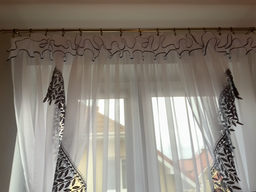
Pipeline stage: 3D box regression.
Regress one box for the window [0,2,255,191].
[{"bbox_3d":[0.140,0.280,1.100,1.550,1.630,0.270,0,-21,-6],"label":"window"}]
